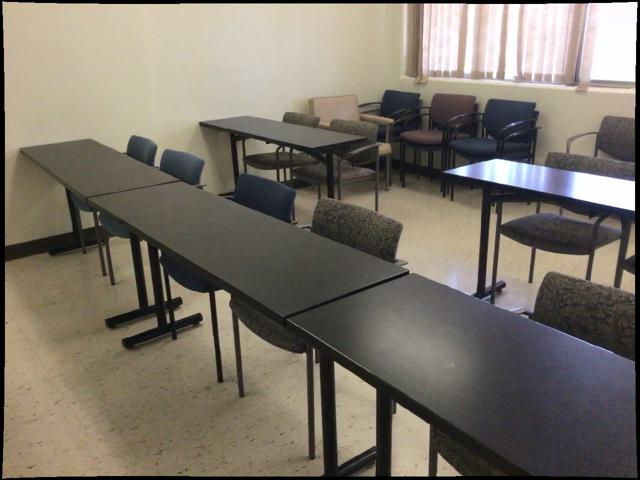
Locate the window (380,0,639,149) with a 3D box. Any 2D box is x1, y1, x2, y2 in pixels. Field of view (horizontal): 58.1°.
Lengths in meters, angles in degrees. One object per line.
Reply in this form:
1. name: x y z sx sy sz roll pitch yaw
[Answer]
1. window: 2.085 -1.594 3.930 0.419 1.804 4.296 -19 26 -35
